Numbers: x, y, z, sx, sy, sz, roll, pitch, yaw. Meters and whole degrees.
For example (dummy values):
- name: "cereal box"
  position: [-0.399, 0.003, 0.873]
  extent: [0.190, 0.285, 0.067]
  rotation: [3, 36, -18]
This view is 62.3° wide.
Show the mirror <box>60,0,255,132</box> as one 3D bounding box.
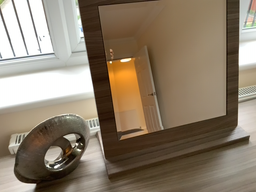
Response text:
- name: "mirror"
  position: [0.110, -0.110, 0.700]
  extent: [0.590, 0.500, 0.140]
  rotation: [2, 39, -23]
